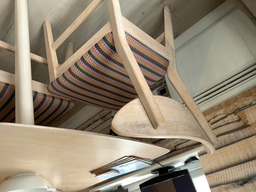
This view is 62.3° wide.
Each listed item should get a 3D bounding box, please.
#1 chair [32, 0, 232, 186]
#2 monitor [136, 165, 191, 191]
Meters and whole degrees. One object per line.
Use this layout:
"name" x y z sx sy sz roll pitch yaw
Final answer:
"chair" -0.040 -0.100 1.010 0.530 0.860 0.550 -34 143 33
"monitor" 0.210 0.580 1.330 0.390 0.240 0.030 -23 149 39
